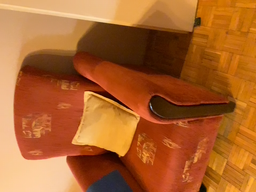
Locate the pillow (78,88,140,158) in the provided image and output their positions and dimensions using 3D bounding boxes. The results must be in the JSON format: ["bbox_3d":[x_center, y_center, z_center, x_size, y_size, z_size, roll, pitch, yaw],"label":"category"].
[{"bbox_3d":[-0.130,0.160,1.360,0.200,0.290,0.360,37,124,49],"label":"pillow"}]
